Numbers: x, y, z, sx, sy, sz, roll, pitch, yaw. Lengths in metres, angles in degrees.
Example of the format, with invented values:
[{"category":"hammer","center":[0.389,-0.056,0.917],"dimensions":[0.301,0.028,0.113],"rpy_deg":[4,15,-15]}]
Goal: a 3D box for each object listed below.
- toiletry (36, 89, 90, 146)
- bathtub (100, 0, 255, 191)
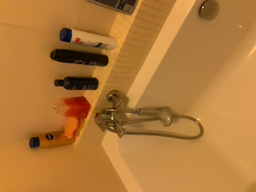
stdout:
[{"category":"toiletry","center":[-0.310,0.100,0.990],"dimensions":[0.100,0.150,0.260],"rpy_deg":[54,127,32]},{"category":"bathtub","center":[0.590,-0.140,0.770],"dimensions":[0.740,0.550,1.650],"rpy_deg":[51,125,34]}]
